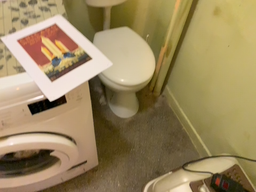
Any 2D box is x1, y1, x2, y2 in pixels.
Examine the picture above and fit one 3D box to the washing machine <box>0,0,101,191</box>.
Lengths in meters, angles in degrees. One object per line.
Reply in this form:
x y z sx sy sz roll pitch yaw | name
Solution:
-0.510 0.070 0.980 0.600 0.850 0.620 -15 59 -16 | washing machine
